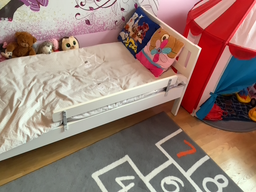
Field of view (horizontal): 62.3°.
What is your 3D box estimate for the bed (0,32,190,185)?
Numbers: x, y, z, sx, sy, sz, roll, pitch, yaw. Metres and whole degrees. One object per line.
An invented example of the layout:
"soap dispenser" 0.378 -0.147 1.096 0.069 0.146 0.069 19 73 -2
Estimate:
"bed" -0.470 -0.010 1.640 1.680 0.410 0.800 -17 49 -25
